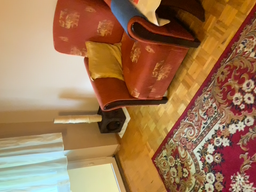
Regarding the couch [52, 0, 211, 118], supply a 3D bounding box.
[{"bbox_3d":[-0.090,-0.440,1.980,0.850,1.020,0.930,-66,34,37],"label":"couch"}]
